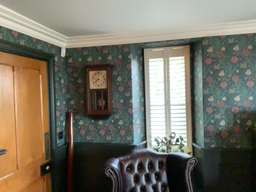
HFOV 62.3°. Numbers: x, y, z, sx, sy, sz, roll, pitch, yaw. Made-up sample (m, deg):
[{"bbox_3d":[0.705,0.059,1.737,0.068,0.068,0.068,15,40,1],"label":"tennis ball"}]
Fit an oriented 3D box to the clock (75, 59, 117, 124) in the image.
[{"bbox_3d":[-0.390,-0.050,2.600,0.450,0.750,0.180,-1,2,12],"label":"clock"}]
